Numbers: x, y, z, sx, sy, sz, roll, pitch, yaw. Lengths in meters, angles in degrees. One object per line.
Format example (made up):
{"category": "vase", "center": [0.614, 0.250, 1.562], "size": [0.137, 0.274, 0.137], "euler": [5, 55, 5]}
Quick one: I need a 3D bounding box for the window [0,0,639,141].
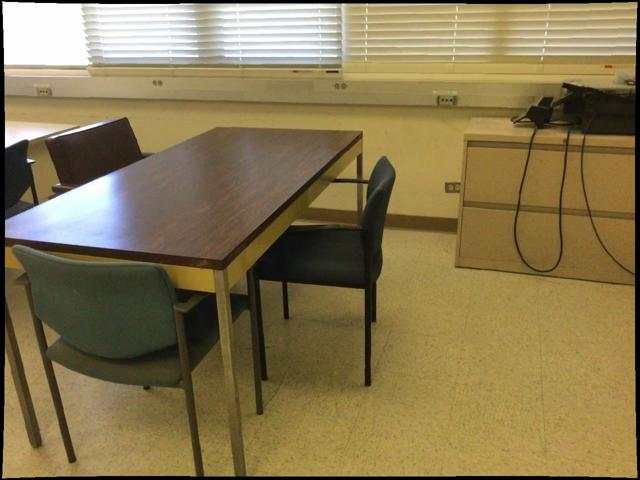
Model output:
{"category": "window", "center": [-0.808, -1.374, 3.430], "size": [5.328, 1.323, 0.330], "euler": [5, 25, 17]}
